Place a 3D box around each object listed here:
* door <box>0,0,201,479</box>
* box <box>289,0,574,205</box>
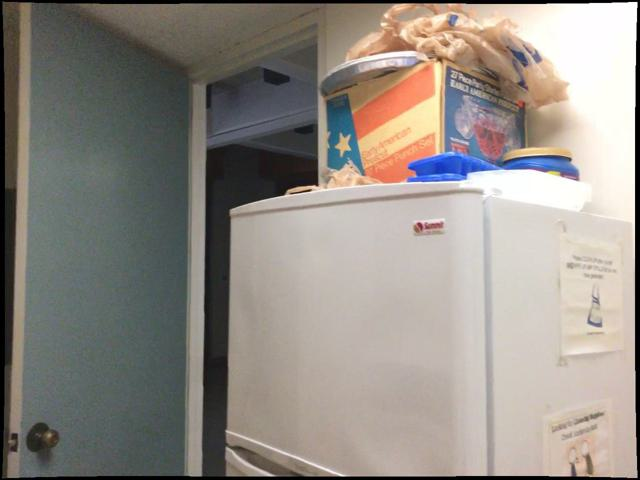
[{"bbox_3d":[-0.828,0.421,2.260,0.170,2.496,0.960,-2,-2,24],"label":"door"},{"bbox_3d":[0.279,-0.331,1.470,0.529,0.411,0.479,-3,-3,44],"label":"box"}]
